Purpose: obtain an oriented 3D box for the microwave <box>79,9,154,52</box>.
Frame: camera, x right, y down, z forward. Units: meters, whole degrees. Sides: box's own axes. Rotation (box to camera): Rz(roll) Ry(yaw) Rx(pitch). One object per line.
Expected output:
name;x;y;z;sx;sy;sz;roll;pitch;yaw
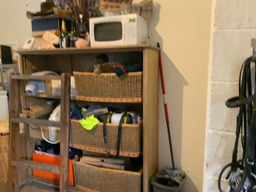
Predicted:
microwave;-0.090;-0.560;1.900;0.570;0.280;0.350;3;9;22
